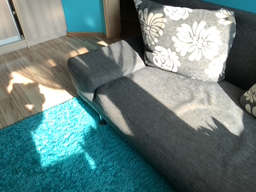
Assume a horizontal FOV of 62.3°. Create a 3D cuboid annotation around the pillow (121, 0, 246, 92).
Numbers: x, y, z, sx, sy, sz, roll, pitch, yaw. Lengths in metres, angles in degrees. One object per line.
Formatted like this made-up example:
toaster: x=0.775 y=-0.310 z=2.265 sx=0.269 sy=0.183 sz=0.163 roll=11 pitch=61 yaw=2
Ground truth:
pillow: x=0.320 y=-0.400 z=1.460 sx=0.720 sy=0.430 sz=0.260 roll=29 pitch=40 yaw=29
